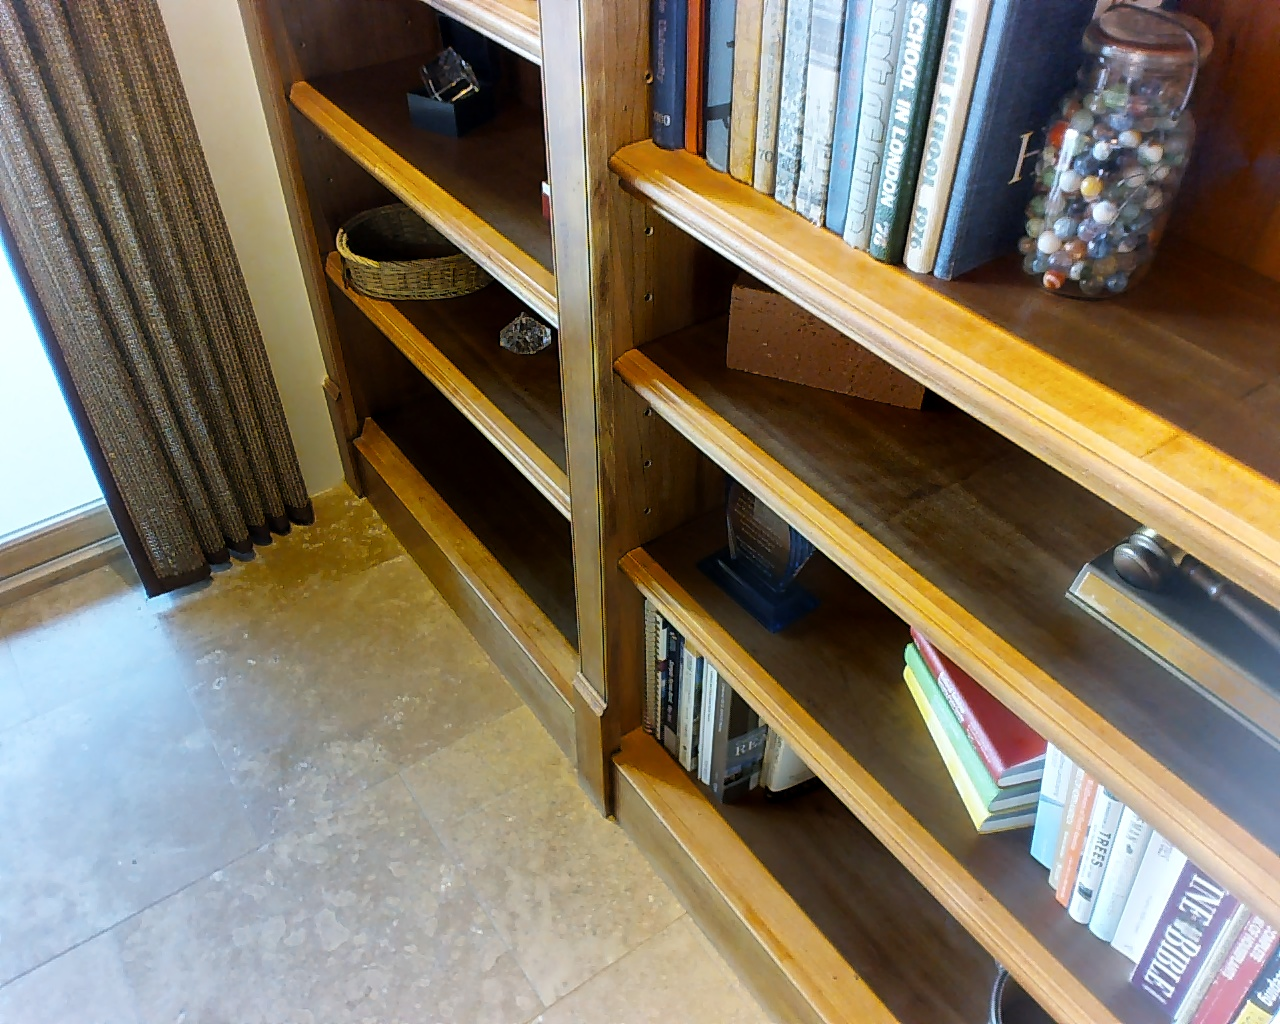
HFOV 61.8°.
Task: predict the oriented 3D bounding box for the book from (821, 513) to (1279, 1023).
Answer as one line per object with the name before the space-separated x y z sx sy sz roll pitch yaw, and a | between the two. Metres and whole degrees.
book | 0.430 0.270 0.940 0.170 0.200 0.590 -24 47 -24
